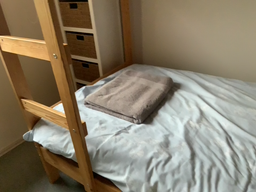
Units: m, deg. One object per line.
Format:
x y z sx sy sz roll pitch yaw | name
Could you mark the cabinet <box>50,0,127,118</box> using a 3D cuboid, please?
-0.300 -0.430 1.760 0.400 1.150 0.320 16 35 31 | cabinet
